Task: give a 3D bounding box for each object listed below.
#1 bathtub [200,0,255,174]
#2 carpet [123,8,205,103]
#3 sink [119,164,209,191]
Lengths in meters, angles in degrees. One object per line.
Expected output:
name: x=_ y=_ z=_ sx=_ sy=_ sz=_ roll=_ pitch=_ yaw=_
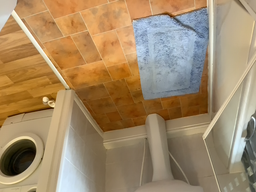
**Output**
bathtub: x=0.900 y=-0.090 z=1.360 sx=0.700 sy=0.570 sz=1.540 roll=-11 pitch=139 yaw=9
carpet: x=0.290 y=-0.230 z=1.600 sx=0.500 sy=0.010 sz=0.810 roll=-9 pitch=140 yaw=6
sink: x=0.280 y=0.750 z=1.660 sx=0.610 sy=0.210 sz=0.410 roll=-10 pitch=140 yaw=8
